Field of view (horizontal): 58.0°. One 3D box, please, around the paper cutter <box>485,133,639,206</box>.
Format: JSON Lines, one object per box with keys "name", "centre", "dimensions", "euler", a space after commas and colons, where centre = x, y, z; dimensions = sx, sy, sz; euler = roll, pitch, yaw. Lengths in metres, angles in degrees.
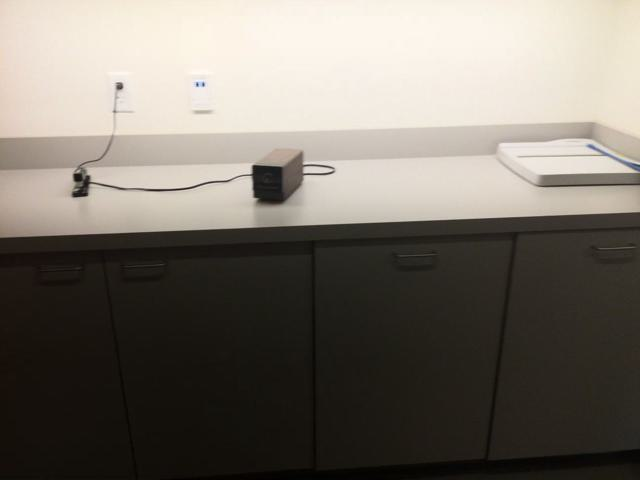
{"name": "paper cutter", "centre": [0.750, -0.220, 1.680], "dimensions": [0.360, 0.070, 0.500], "euler": [-4, 21, -5]}
